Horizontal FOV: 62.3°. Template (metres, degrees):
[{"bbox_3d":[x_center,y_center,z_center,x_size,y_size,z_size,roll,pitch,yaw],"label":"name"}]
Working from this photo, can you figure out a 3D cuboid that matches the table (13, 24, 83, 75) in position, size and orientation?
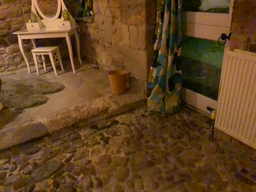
[{"bbox_3d":[-1.400,-0.860,3.880,0.920,0.740,0.580,-3,27,4],"label":"table"}]

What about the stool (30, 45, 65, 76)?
[{"bbox_3d":[-1.410,-0.630,3.750,0.400,0.450,0.310,-2,27,5],"label":"stool"}]
